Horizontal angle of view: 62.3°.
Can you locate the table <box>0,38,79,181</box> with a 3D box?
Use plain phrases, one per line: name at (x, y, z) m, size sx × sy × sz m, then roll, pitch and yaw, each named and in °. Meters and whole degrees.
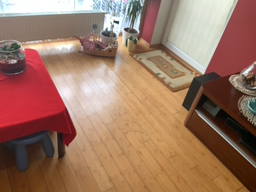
table at (-0.880, 0.050, 1.390) m, size 0.820 × 0.450 × 0.860 m, roll -14°, pitch 46°, yaw -30°
